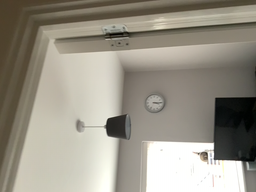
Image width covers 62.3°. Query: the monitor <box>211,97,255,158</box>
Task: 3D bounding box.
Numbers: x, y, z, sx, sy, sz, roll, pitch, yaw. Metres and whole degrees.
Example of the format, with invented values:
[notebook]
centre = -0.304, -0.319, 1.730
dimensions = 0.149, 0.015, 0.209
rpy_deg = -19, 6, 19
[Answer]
[monitor]
centre = 1.180, 0.350, 2.320
dimensions = 0.070, 0.480, 0.680
rpy_deg = -57, -36, -70
